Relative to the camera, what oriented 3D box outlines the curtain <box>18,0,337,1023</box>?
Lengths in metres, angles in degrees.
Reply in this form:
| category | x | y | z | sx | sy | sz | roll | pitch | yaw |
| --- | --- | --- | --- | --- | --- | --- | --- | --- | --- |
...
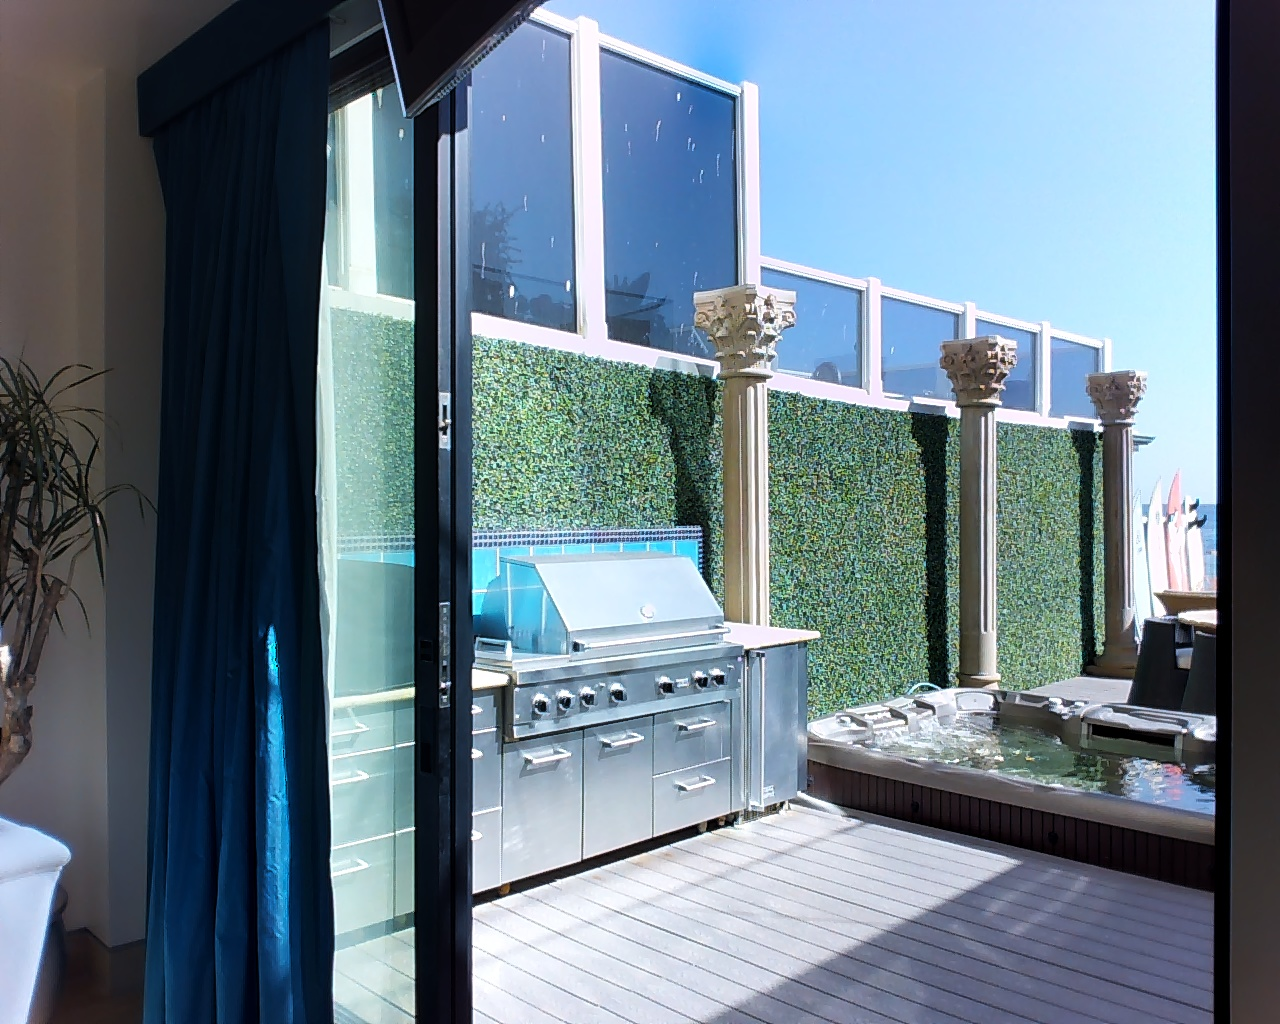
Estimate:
| category | x | y | z | sx | sy | sz | roll | pitch | yaw |
| --- | --- | --- | --- | --- | --- | --- | --- | --- | --- |
| curtain | -1.299 | 0.120 | 2.920 | 0.370 | 3.131 | 1.240 | -1 | 1 | -43 |
